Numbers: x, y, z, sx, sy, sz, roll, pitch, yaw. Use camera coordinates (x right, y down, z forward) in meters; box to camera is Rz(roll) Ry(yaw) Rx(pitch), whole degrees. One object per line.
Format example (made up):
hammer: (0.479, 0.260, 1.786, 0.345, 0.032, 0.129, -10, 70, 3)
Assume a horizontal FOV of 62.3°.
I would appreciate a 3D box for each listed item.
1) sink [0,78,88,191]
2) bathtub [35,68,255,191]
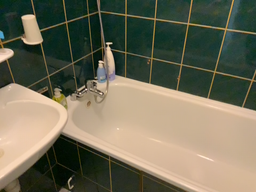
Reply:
sink: (-0.500, 0.180, 0.800, 0.420, 0.180, 0.560, 19, 37, 24)
bathtub: (0.380, 0.430, 1.260, 1.690, 0.580, 0.700, 19, 37, 24)
